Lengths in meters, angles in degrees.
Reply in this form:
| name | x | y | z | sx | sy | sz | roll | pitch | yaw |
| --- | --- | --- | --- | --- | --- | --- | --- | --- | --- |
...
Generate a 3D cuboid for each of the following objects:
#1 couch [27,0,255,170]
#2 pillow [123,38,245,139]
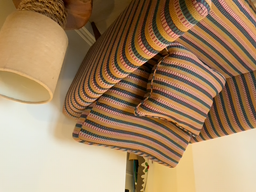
| name | x | y | z | sx | sy | sz | roll | pitch | yaw |
| --- | --- | --- | --- | --- | --- | --- | --- | --- | --- |
| couch | 0.200 | -0.140 | 1.060 | 0.890 | 0.790 | 0.830 | 25 | 146 | -35 |
| pillow | 0.250 | -0.030 | 0.990 | 0.440 | 0.350 | 0.180 | 21 | 116 | -34 |
